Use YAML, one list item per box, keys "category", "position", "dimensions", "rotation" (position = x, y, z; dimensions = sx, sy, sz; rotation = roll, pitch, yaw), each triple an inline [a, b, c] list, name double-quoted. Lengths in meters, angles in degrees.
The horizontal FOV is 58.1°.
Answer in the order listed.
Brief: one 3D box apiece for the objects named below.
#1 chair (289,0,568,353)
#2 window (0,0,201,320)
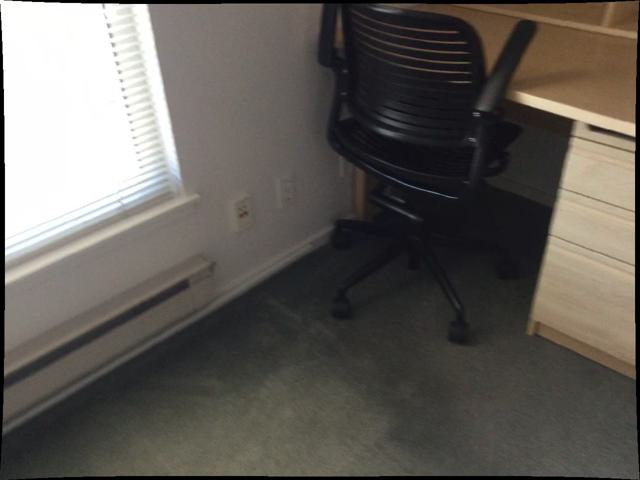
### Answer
- category: "chair"
  position: [0.270, -0.250, 1.740]
  dimensions: [0.590, 0.941, 0.400]
  rotation: [27, 43, 35]
- category: "window"
  position: [-0.729, -0.210, 1.220]
  dimensions: [0.160, 0.781, 0.950]
  rotation: [27, 43, 35]
